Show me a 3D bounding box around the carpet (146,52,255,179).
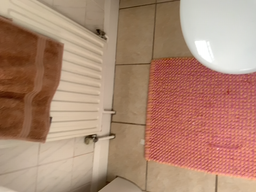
[{"bbox_3d":[0.490,0.080,0.960,0.850,0.020,0.550,-1,85,25],"label":"carpet"}]
